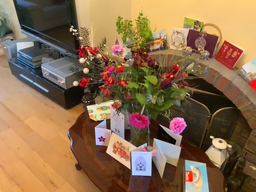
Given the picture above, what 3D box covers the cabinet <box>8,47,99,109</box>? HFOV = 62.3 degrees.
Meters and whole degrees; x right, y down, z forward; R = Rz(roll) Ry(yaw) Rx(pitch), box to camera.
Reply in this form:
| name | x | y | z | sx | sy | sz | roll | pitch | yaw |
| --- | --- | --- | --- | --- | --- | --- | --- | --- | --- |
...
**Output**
| name | x | y | z | sx | sy | sz | roll | pitch | yaw |
| --- | --- | --- | --- | --- | --- | --- | --- | --- | --- |
| cabinet | -0.960 | -0.290 | 2.720 | 1.100 | 0.280 | 0.560 | 26 | 40 | 32 |
